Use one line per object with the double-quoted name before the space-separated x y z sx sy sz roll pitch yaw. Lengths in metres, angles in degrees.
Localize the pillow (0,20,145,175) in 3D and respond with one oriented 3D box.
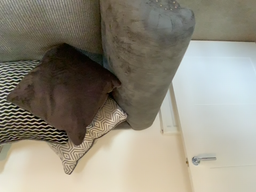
"pillow" -0.290 -0.010 1.110 0.510 0.570 0.330 27 148 7
